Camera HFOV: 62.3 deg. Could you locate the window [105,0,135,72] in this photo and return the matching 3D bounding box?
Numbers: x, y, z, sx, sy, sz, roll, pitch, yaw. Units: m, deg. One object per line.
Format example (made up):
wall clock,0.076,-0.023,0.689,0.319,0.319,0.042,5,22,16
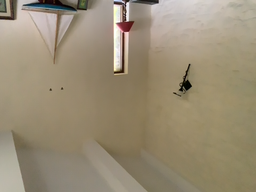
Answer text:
window,-0.140,-0.990,3.500,0.410,1.160,0.140,-5,-163,-32
